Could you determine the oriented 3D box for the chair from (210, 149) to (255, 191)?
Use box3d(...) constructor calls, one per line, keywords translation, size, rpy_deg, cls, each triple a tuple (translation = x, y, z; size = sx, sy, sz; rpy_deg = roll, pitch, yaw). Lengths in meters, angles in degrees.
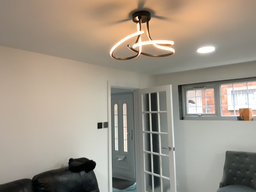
box3d(translation=(1.570, 1.290, 2.990), size=(0.550, 0.920, 0.650), rpy_deg=(-4, -5, 38), cls="chair")
